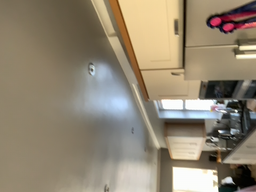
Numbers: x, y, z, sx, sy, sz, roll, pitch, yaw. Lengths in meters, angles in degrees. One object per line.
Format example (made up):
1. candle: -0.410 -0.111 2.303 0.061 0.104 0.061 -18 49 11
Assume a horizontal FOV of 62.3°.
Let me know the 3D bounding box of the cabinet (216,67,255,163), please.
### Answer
1. cabinet: 2.250 0.530 3.580 3.540 0.890 0.600 63 -150 -62

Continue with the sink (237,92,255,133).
1. sink: 1.760 0.250 3.070 0.440 0.190 0.470 63 -150 -62
